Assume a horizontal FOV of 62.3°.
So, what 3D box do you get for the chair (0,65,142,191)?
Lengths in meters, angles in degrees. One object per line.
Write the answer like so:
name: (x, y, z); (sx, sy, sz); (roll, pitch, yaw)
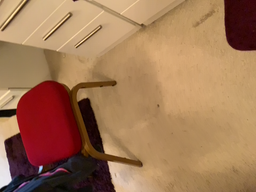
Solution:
chair: (-0.400, 0.230, 1.100); (0.460, 0.800, 0.580); (-24, 79, 31)
